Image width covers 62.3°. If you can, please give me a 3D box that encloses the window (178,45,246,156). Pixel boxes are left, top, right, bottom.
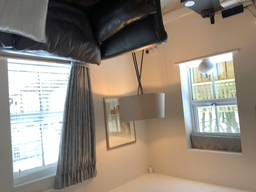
[{"bbox_3d":[1.170,0.080,3.050,0.790,1.430,0.130,-6,177,42],"label":"window"}]

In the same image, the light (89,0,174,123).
[{"bbox_3d":[0.030,-0.510,2.780,0.820,1.650,0.590,-6,177,41],"label":"light"}]
